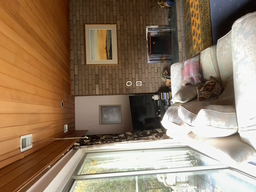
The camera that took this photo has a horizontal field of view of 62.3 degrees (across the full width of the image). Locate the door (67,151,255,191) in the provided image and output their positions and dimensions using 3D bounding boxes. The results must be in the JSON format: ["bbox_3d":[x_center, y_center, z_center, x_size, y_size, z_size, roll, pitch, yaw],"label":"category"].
[{"bbox_3d":[0.540,1.080,1.250,5.440,2.240,0.130,163,105,-84],"label":"door"}]
